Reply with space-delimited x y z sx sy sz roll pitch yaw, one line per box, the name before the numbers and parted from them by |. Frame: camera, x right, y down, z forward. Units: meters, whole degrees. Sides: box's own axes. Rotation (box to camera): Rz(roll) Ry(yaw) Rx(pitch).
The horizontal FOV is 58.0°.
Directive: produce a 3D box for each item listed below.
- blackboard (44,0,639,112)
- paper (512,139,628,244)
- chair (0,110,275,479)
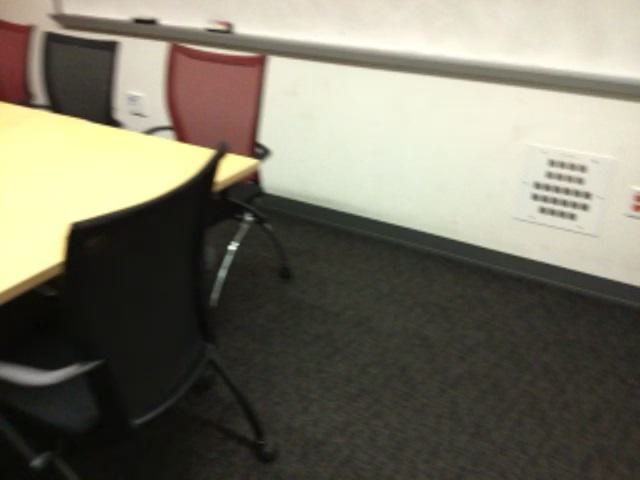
blackboard | 0.100 -1.090 2.370 3.660 0.720 0.260 17 31 27
paper | 0.960 -0.190 2.250 0.350 0.340 0.060 17 31 27
chair | -0.490 0.180 1.340 0.540 0.770 0.580 13 29 22
